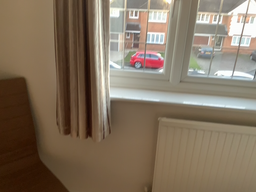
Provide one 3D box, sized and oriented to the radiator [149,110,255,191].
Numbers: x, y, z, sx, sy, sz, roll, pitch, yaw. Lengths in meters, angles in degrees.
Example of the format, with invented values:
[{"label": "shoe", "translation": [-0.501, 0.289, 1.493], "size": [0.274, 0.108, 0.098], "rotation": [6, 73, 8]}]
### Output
[{"label": "radiator", "translation": [0.810, 0.460, 1.240], "size": [1.320, 0.650, 0.100], "rotation": [5, 21, 5]}]
